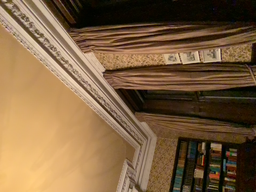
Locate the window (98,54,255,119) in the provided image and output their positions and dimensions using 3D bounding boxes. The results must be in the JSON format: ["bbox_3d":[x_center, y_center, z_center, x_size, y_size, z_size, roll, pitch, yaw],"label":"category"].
[{"bbox_3d":[1.270,-0.130,3.950,1.430,3.460,0.380,51,-131,-51],"label":"window"}]

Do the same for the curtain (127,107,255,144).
[{"bbox_3d":[1.620,0.620,4.440,0.570,3.370,0.300,54,-134,-49],"label":"curtain"}]

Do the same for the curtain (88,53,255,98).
[{"bbox_3d":[0.890,-0.290,3.070,0.310,3.310,0.480,51,-131,-51],"label":"curtain"}]

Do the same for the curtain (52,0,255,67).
[{"bbox_3d":[0.570,-0.710,2.460,0.470,3.350,0.490,47,-128,-53],"label":"curtain"}]
